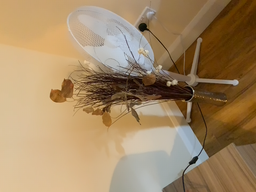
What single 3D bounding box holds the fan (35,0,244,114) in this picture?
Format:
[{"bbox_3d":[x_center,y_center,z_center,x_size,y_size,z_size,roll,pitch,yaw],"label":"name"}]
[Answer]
[{"bbox_3d":[0.110,-0.220,1.170,0.400,1.030,0.460,-49,51,34],"label":"fan"}]
